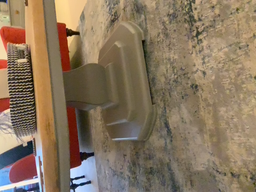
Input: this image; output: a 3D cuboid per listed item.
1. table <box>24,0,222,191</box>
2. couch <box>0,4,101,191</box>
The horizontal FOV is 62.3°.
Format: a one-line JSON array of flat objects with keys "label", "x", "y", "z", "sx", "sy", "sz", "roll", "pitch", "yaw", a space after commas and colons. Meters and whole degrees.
[{"label": "table", "x": -0.210, "y": -0.030, "z": 1.010, "sx": 0.990, "sy": 0.440, "sz": 0.980, "roll": -28, "pitch": 70, "yaw": 62}, {"label": "couch", "x": -0.910, "y": 0.080, "z": 2.010, "sx": 1.040, "sy": 0.830, "sz": 1.380, "roll": -28, "pitch": 70, "yaw": 62}]
